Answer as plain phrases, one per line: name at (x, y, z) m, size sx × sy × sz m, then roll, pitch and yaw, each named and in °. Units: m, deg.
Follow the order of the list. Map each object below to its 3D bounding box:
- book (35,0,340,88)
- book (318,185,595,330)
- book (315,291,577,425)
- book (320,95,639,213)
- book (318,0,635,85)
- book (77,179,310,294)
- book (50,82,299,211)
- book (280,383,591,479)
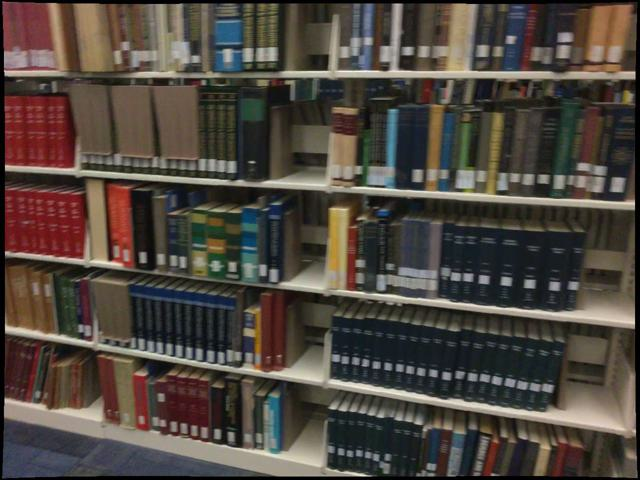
book at (-0.419, -0.672, 1.820) m, size 0.938 × 0.361 × 0.220 m, roll 4°, pitch 17°, yaw 16°
book at (0.439, 0.020, 1.930) m, size 0.778 × 0.291 × 0.510 m, roll 4°, pitch 17°, yaw 16°
book at (0.399, 0.371, 1.920) m, size 0.788 × 0.261 × 0.260 m, roll 4°, pitch 17°, yaw 16°
book at (0.459, -0.271, 1.700) m, size 0.878 × 0.291 × 0.250 m, roll 4°, pitch 17°, yaw 16°
book at (0.399, -0.571, 1.580) m, size 0.798 × 0.271 × 0.140 m, roll 4°, pitch 17°, yaw 16°
book at (-0.439, -0.030, 2.050) m, size 0.758 × 0.311 × 0.250 m, roll 4°, pitch 17°, yaw 16°
book at (-0.489, -0.341, 2.000) m, size 0.778 × 0.391 × 0.270 m, roll 4°, pitch 17°, yaw 16°
book at (0.359, 0.742, 1.960) m, size 0.978 × 0.331 × 0.170 m, roll 4°, pitch 17°, yaw 16°
